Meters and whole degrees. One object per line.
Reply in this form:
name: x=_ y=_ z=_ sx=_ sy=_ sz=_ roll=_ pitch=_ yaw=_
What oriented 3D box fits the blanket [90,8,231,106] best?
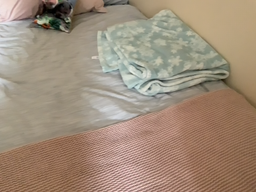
blanket: x=0.120 y=-0.260 z=1.120 sx=0.480 sy=0.150 sz=0.600 roll=-14 pitch=46 yaw=-20
